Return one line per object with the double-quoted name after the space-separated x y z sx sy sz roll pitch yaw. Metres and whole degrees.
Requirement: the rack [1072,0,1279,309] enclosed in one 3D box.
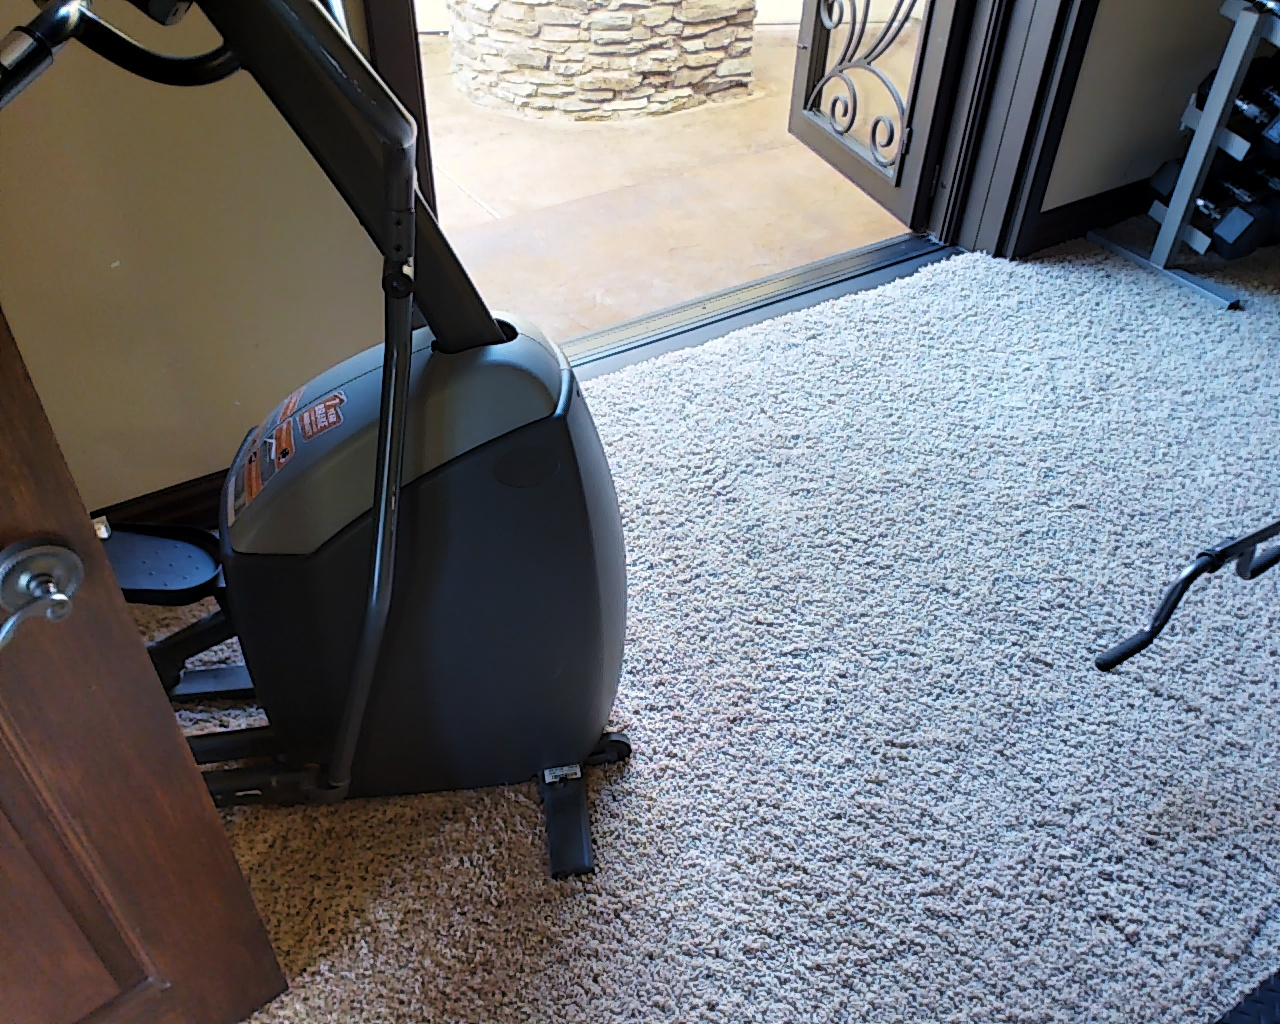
2.011 -1.229 3.120 1.220 0.790 0.560 -23 48 -24 "rack"
